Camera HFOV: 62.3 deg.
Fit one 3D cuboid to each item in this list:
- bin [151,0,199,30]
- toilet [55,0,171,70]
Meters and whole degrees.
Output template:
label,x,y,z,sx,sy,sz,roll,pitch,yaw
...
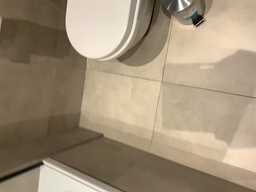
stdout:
label,x,y,z,sx,sy,sz,roll,pitch,yaw
bin,0.250,-0.470,1.090,0.160,0.240,0.190,13,99,26
toilet,-0.050,-0.440,1.140,0.390,0.460,0.520,13,99,26
